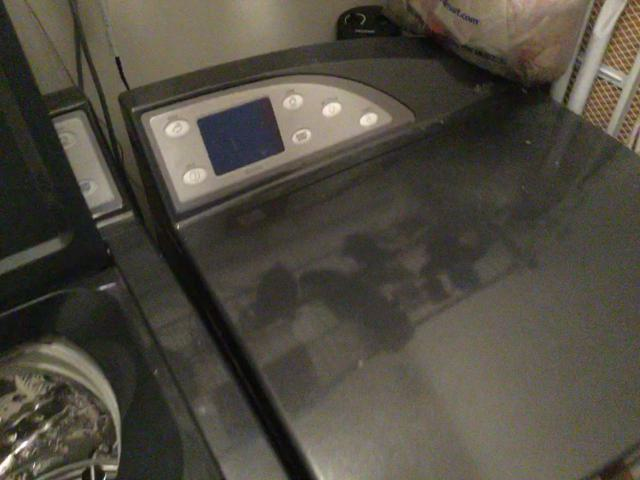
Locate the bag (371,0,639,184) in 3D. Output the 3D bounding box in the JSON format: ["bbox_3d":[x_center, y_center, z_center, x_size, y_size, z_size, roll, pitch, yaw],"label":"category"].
[{"bbox_3d":[0.310,-0.420,0.860,0.270,0.490,0.370,-27,51,-23],"label":"bag"}]
